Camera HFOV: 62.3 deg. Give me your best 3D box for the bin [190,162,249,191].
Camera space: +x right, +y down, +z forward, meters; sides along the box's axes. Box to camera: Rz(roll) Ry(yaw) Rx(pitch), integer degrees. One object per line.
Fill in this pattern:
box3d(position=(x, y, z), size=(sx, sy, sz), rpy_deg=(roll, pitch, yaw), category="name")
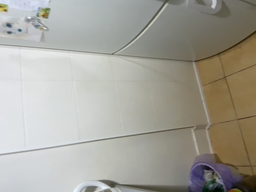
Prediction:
box3d(position=(0.600, 0.580, 1.400), size=(0.240, 0.230, 0.230), rpy_deg=(-23, 72, 57), category="bin")
